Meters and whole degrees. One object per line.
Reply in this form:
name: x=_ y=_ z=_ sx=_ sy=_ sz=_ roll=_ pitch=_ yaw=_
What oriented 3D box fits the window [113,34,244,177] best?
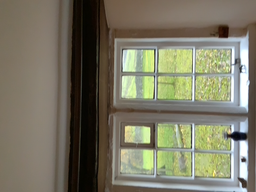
window: x=0.340 y=0.060 z=1.530 sx=0.130 sy=0.860 sz=0.960 roll=-27 pitch=-61 yaw=-86
